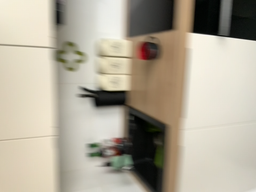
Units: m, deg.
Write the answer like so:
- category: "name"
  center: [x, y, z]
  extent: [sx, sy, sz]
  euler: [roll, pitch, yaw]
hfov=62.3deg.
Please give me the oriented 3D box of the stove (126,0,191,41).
- category: "stove"
  center: [0.140, -0.630, 1.140]
  extent: [0.610, 0.020, 0.620]
  euler: [-157, 68, -63]
